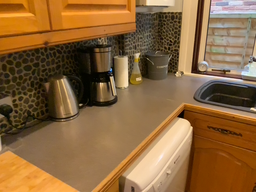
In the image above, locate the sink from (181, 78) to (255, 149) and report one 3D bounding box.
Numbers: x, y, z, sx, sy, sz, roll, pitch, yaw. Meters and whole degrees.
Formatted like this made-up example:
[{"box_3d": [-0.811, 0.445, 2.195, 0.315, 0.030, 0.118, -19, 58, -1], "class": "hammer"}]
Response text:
[{"box_3d": [0.670, 0.080, 1.490, 0.410, 0.230, 0.510, 13, 26, 31], "class": "sink"}]
